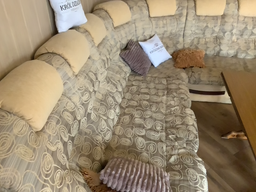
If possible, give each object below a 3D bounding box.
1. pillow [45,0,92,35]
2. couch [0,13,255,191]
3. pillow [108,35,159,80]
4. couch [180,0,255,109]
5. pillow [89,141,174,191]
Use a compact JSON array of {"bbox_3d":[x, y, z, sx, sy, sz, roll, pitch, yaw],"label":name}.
[{"bbox_3d":[-0.430,-0.680,1.590,0.200,0.330,0.350,5,35,7],"label":"pillow"},{"bbox_3d":[0.010,0.140,1.600,1.230,0.990,1.850,6,35,7],"label":"couch"},{"bbox_3d":[0.060,-0.440,2.420,0.450,0.350,0.220,-28,79,-29],"label":"pillow"},{"bbox_3d":[1.340,-0.570,2.630,1.190,0.990,1.040,6,35,7],"label":"couch"},{"bbox_3d":[0.030,0.460,1.160,0.390,0.270,0.240,8,35,11],"label":"pillow"}]
